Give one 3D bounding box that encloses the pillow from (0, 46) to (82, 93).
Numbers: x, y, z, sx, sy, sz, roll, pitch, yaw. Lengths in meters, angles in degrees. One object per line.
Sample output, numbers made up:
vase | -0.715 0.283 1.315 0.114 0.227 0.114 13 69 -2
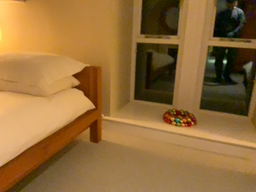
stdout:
pillow | -0.860 -0.260 1.830 0.740 0.260 0.500 8 18 18
